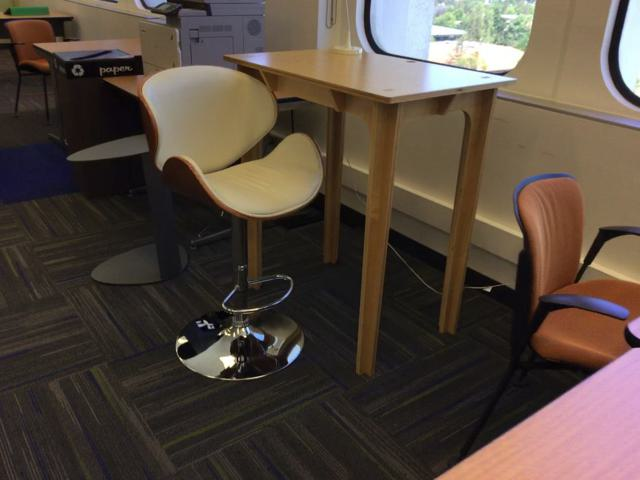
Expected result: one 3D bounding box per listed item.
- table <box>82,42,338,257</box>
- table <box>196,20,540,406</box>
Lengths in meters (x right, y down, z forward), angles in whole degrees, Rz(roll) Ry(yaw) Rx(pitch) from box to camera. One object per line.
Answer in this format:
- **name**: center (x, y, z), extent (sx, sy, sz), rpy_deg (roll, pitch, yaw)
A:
- **table**: center (-0.610, -0.590, 3.250), extent (1.060, 0.930, 0.920), rpy_deg (-14, 23, -29)
- **table**: center (0.120, -0.230, 2.310), extent (0.730, 1.150, 1.120), rpy_deg (-14, 23, -29)
